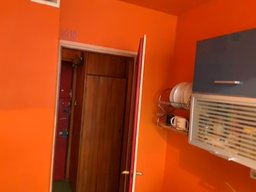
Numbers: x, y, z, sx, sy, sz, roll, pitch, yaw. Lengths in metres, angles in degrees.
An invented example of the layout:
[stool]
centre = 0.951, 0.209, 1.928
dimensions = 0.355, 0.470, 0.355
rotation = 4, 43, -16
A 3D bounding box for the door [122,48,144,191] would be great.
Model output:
[door]
centre = 0.000, 0.640, 1.730
dimensions = 0.060, 1.890, 0.810
rotation = 5, 1, 2

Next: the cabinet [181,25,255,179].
[cabinet]
centre = 0.700, 0.020, 1.290
dimensions = 0.340, 0.750, 0.640
rotation = 4, 2, -24

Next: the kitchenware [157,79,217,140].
[kitchenware]
centre = 0.500, 0.100, 1.890
dimensions = 0.230, 0.470, 0.500
rotation = 4, 2, -19
